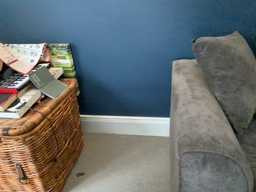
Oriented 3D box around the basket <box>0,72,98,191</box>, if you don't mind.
[{"bbox_3d":[-0.740,0.240,1.400,0.860,0.590,0.620,2,30,11],"label":"basket"}]
